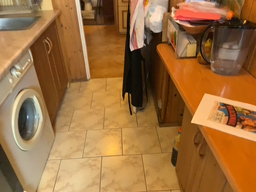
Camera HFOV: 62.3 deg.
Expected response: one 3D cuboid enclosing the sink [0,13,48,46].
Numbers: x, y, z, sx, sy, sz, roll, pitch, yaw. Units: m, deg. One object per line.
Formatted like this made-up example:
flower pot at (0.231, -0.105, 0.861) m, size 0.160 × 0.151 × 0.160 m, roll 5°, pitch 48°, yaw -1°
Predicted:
sink at (-0.950, -0.540, 1.690) m, size 0.460 × 0.100 × 0.500 m, roll -2°, pitch 35°, yaw -2°
